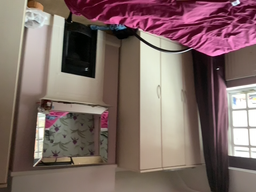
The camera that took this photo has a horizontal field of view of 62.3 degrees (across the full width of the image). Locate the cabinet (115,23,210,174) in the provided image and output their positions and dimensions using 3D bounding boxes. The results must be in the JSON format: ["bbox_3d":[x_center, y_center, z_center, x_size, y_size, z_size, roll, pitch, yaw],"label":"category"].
[{"bbox_3d":[0.610,0.090,3.450,1.520,2.010,0.550,8,169,-36],"label":"cabinet"}]
